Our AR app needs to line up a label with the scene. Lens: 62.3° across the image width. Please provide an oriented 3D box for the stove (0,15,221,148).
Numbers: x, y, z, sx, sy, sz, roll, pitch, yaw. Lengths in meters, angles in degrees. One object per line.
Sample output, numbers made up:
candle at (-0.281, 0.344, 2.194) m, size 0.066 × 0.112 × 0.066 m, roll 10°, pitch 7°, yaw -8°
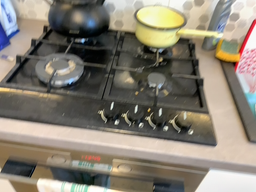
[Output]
stove at (-0.060, -0.110, 0.700) m, size 0.610 × 0.020 × 0.550 m, roll 8°, pitch 43°, yaw 2°

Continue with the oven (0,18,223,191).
oven at (-0.100, 0.210, 0.990) m, size 0.630 × 0.860 × 0.570 m, roll 8°, pitch 43°, yaw 2°

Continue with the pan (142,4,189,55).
pan at (0.130, -0.250, 0.780) m, size 0.140 × 0.090 × 0.200 m, roll 7°, pitch 43°, yaw 1°
